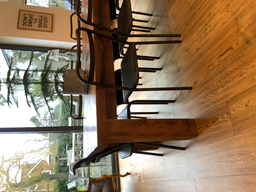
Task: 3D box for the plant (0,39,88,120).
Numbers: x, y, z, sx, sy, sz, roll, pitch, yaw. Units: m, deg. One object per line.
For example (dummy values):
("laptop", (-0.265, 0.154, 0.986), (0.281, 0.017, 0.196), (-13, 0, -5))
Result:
("plant", (-0.790, -0.120, 1.890), (0.350, 0.810, 0.590), (130, 139, -63))
